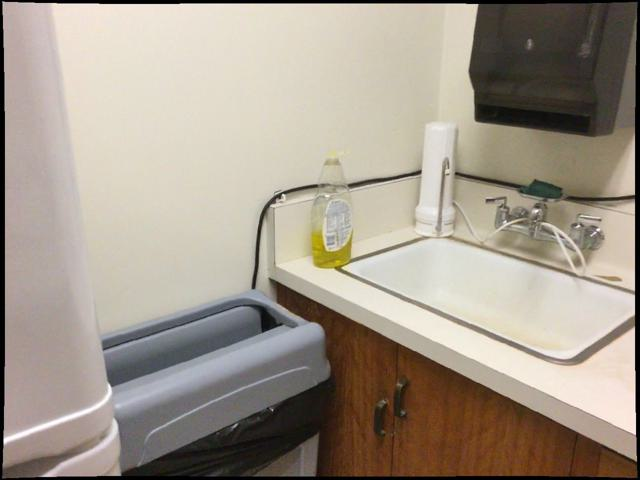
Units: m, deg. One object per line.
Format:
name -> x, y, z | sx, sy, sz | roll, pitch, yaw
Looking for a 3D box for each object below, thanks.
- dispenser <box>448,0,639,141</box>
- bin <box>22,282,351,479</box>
dispenser -> 0.529, -0.451, 1.320 | 0.260, 0.381, 0.340 | -14, 24, -38
bin -> -0.269, 0.632, 1.360 | 0.599, 0.892, 0.320 | -14, 24, -38
